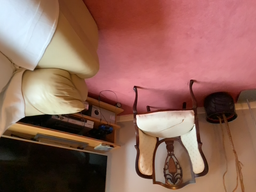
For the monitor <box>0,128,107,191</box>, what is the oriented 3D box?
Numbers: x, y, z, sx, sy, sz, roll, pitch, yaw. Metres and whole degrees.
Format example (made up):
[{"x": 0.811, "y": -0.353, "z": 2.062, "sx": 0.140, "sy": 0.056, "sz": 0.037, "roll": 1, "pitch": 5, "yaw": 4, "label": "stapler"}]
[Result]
[{"x": -0.680, "y": 0.720, "z": 1.940, "sx": 1.070, "sy": 0.640, "sz": 0.080, "roll": 20, "pitch": 146, "yaw": -32, "label": "monitor"}]
